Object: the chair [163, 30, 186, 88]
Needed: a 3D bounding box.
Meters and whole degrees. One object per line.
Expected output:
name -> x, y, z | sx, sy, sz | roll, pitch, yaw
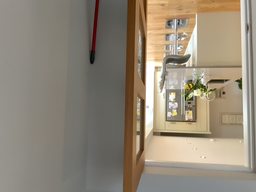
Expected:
chair -> 0.930, -0.720, 4.290 | 0.420, 1.070, 0.470 | 0, 175, 9
